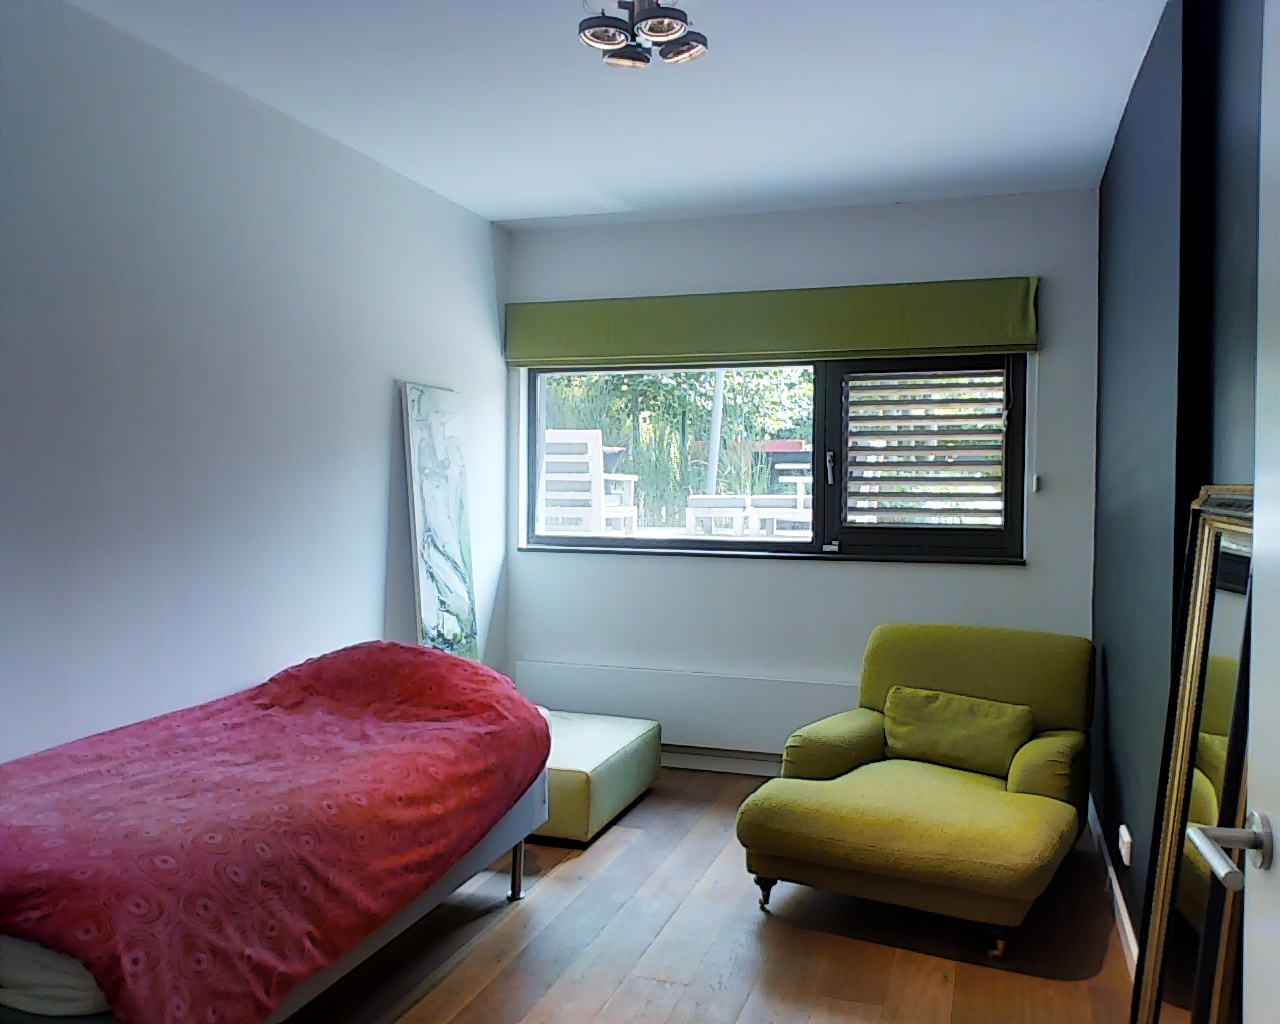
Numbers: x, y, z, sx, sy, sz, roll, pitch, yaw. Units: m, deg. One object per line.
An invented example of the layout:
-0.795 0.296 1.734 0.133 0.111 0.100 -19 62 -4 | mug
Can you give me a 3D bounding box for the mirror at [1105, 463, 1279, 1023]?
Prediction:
1.130 0.630 2.190 0.180 1.430 0.890 -3 0 18 | mirror
